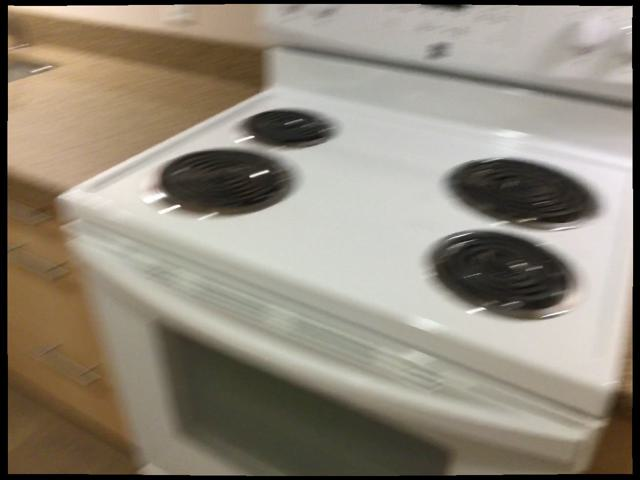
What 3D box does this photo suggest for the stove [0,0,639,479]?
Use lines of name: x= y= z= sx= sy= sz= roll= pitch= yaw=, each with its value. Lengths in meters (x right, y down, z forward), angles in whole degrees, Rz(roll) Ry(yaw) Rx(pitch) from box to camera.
stove: x=0.120 y=0.150 z=1.140 sx=0.819 sy=1.162 sz=0.810 roll=17 pitch=39 yaw=25
